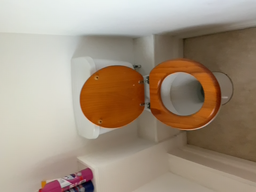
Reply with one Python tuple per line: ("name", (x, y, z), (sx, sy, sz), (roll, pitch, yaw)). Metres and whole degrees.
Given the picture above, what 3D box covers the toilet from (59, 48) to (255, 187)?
("toilet", (0.180, 0.010, 1.180), (0.660, 0.840, 0.440), (3, 100, 50))
